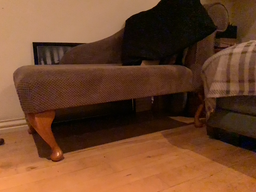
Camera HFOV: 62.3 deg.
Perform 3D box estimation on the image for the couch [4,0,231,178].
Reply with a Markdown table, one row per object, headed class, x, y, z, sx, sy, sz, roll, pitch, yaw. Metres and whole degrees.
| class | x | y | z | sx | sy | sz | roll | pitch | yaw |
| --- | --- | --- | --- | --- | --- | --- | --- | --- | --- |
| couch | -0.030 | -0.150 | 1.160 | 1.050 | 0.700 | 0.530 | -7 | 11 | -29 |
